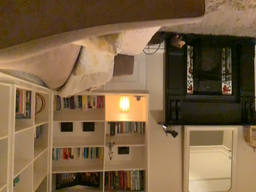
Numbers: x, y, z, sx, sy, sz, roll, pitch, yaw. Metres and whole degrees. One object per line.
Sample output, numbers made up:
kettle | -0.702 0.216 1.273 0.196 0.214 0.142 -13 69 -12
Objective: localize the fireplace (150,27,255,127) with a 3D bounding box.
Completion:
fireplace | 1.270 -0.230 3.260 1.760 1.350 0.580 1 178 -7
